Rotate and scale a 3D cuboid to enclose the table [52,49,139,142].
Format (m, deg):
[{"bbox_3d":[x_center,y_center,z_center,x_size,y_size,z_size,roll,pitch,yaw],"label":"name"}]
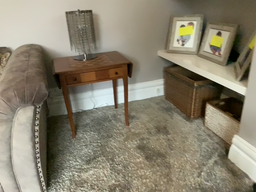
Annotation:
[{"bbox_3d":[-0.280,-0.040,1.840,0.610,0.580,0.470,-10,26,-16],"label":"table"}]
